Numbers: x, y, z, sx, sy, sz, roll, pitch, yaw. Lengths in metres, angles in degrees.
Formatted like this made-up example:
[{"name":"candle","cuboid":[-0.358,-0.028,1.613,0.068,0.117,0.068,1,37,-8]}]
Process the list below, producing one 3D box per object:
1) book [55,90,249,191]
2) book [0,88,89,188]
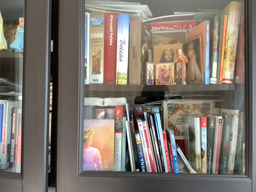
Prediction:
[{"name":"book","cuboid":[0.070,0.120,0.750,0.520,0.260,0.350,1,-1,4]},{"name":"book","cuboid":[-0.470,0.110,0.770,0.560,0.260,0.390,1,-1,4]}]
